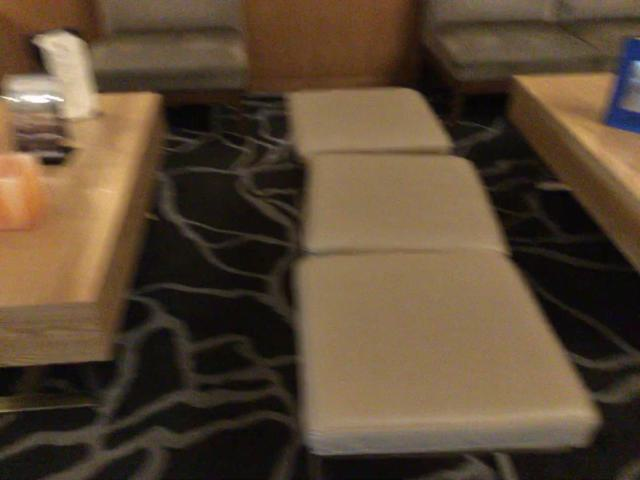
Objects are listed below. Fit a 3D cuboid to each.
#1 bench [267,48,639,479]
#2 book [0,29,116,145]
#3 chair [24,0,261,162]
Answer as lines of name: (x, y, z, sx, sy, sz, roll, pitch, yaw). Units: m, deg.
bench: (0.210, -0.020, 1.710, 0.680, 0.500, 1.790, -5, 35, -2)
book: (-0.850, -0.500, 1.870, 0.190, 0.280, 0.240, 13, 39, 22)
chair: (-0.790, -0.980, 2.880, 0.890, 0.850, 0.740, -6, 35, -3)
